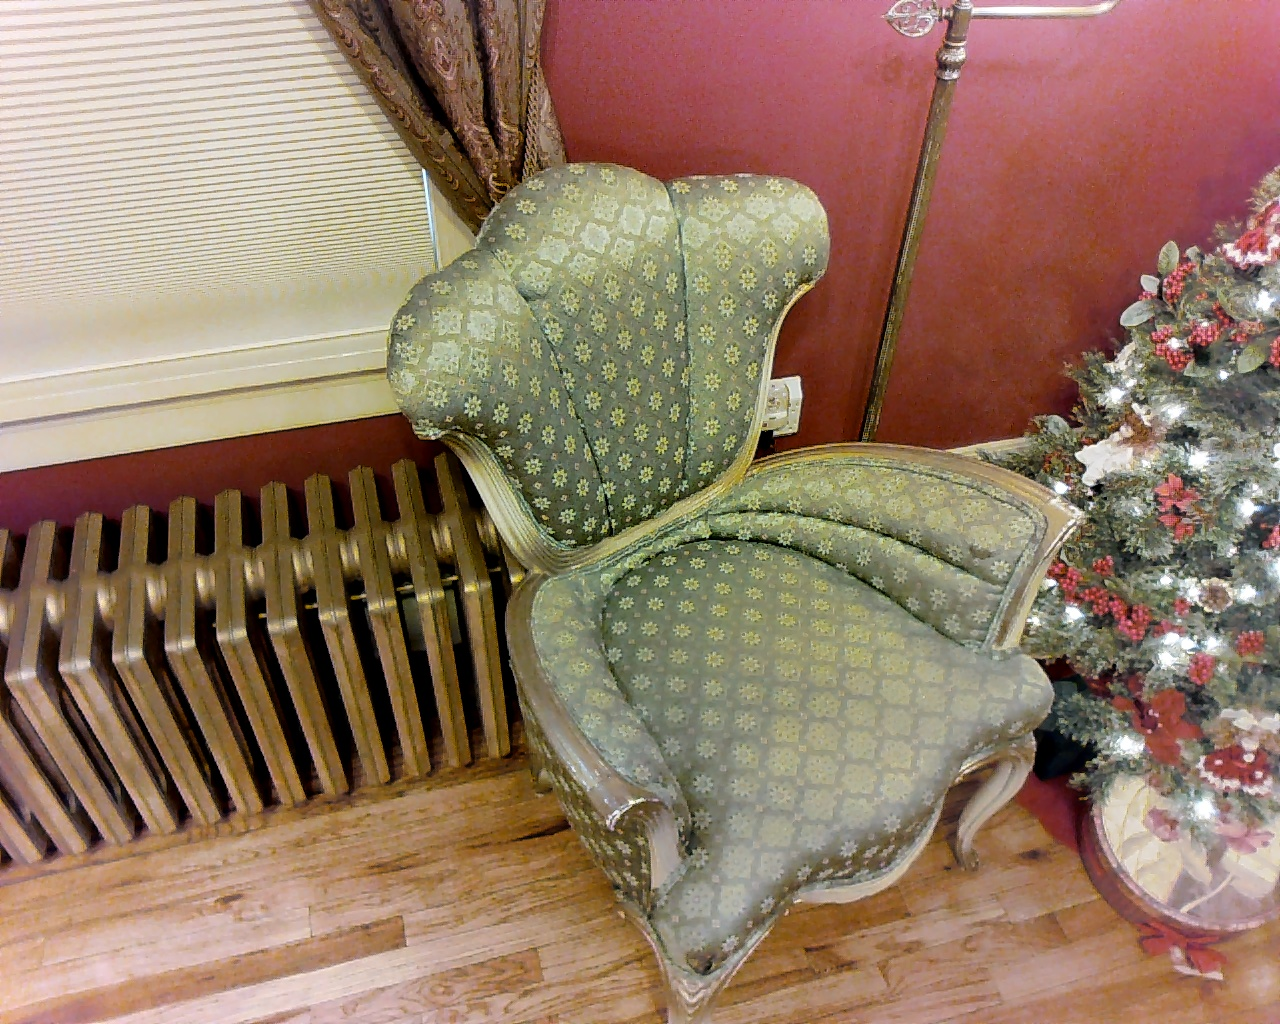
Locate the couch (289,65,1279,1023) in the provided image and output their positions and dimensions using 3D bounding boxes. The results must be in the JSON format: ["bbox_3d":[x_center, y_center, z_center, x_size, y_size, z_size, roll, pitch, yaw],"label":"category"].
[{"bbox_3d":[0.130,0.150,1.390,0.700,1.060,0.760,-24,48,-25],"label":"couch"}]
